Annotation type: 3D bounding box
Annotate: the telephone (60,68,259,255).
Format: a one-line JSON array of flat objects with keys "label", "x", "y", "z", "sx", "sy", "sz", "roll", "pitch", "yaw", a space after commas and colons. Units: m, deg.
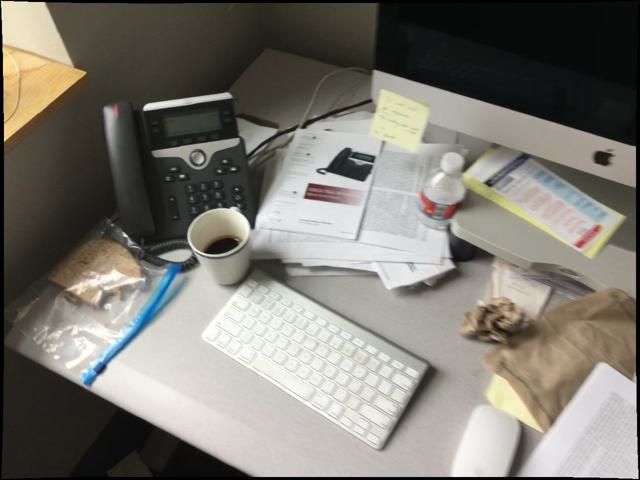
[{"label": "telephone", "x": -0.229, "y": -0.120, "z": 0.900, "sx": 0.210, "sy": 0.180, "sz": 0.210, "roll": -3, "pitch": 49, "yaw": 8}]
